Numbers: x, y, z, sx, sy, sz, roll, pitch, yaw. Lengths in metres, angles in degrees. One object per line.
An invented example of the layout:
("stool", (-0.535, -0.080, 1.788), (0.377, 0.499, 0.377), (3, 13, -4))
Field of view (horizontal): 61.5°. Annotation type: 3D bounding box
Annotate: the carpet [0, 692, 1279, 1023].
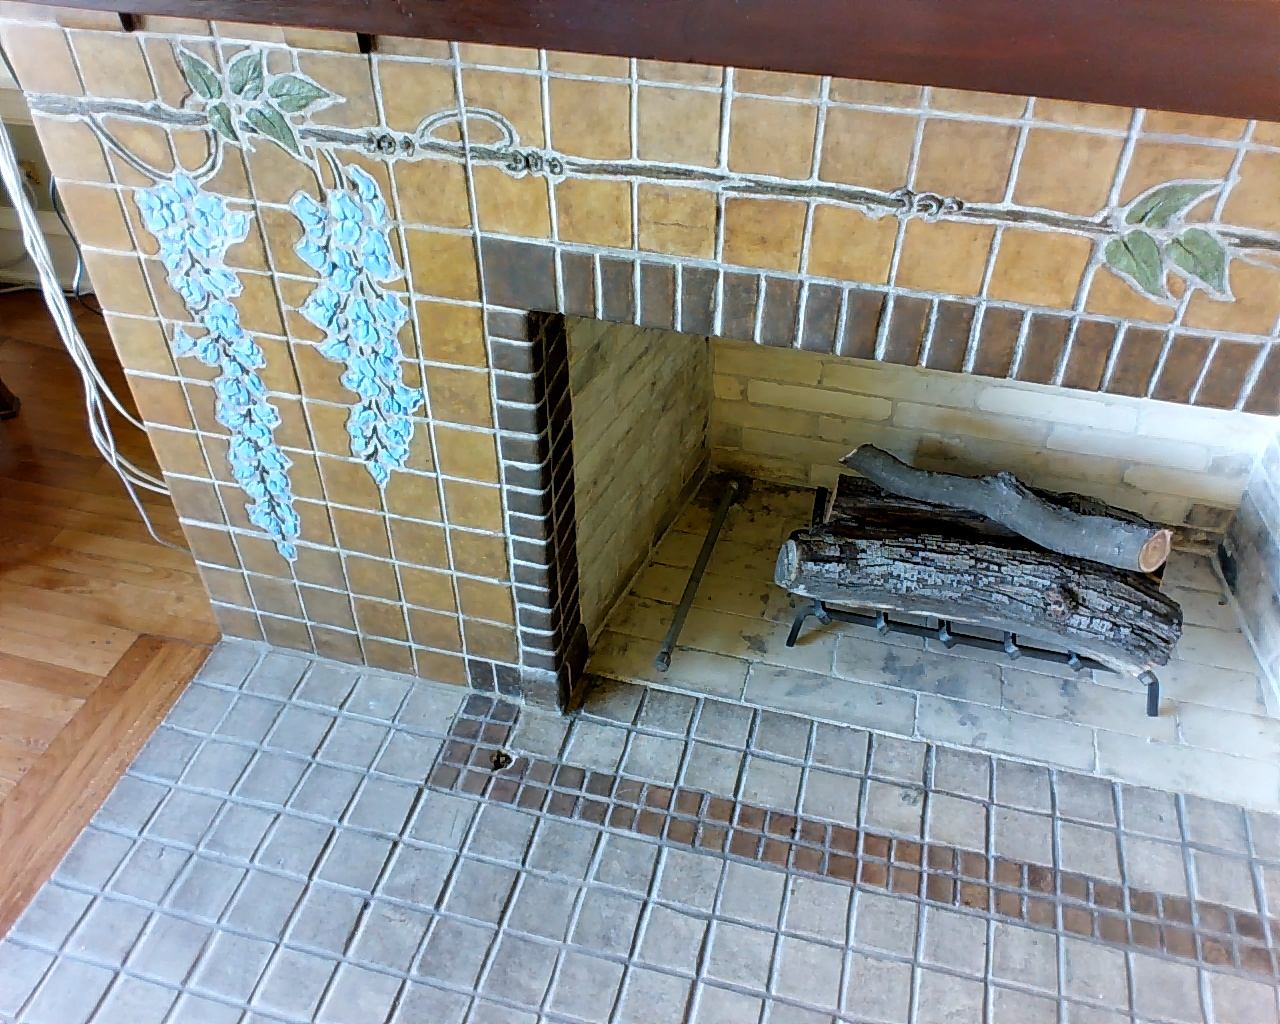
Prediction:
("carpet", (0.350, 0.790, 1.460), (2.630, 0.040, 0.690), (10, 43, 11))
